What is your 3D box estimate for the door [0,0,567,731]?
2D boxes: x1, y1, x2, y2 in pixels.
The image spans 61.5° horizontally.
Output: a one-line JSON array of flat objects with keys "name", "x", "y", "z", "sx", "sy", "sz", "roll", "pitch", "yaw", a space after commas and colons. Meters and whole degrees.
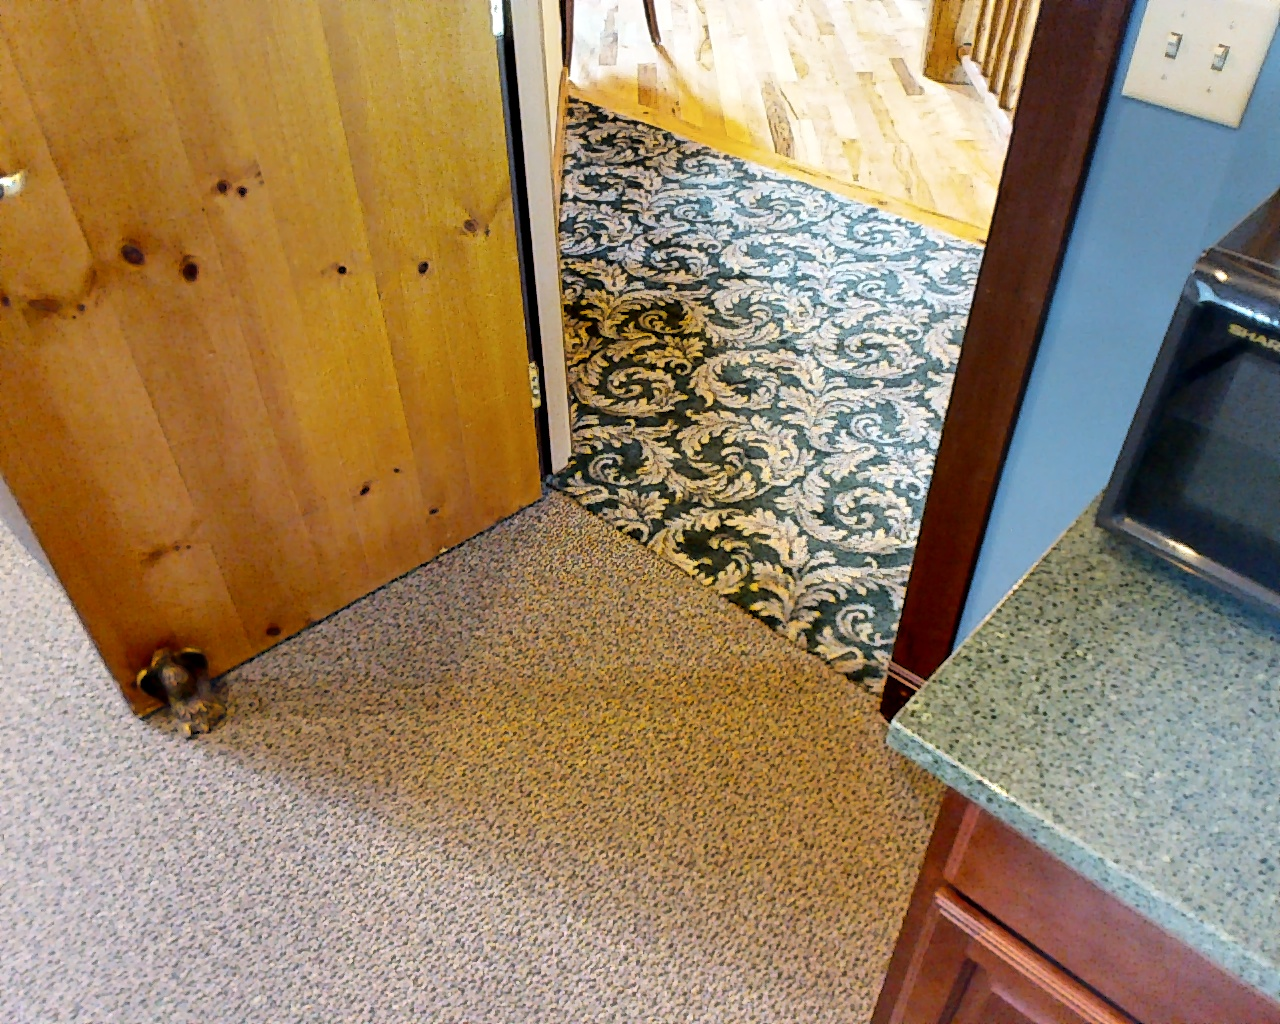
[{"name": "door", "x": -0.570, "y": -0.590, "z": 1.450, "sx": 0.970, "sy": 2.040, "sz": 0.080, "roll": -29, "pitch": 50, "yaw": -27}]
